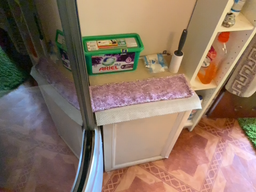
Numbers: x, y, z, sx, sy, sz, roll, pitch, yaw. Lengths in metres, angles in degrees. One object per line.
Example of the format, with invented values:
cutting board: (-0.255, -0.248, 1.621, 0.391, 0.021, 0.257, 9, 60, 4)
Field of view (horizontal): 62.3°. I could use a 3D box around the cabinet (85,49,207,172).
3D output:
cabinet: (0.040, 0.100, 1.150, 0.460, 0.570, 0.350, -7, 54, -11)
